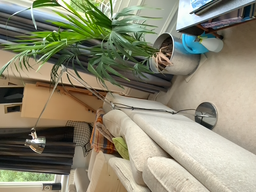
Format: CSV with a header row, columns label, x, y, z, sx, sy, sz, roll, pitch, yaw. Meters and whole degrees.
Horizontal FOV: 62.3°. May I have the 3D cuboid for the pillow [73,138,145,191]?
label,x,y,z,sx,sy,sz,roll,pitch,yaw
pillow,-0.160,0.750,1.980,0.230,0.460,0.470,23,147,53
